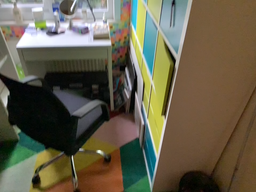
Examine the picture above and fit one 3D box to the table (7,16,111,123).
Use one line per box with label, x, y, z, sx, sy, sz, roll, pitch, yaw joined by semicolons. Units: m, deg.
table;-0.560;-0.260;2.030;0.730;0.790;0.590;-4;39;-8
